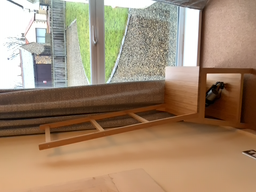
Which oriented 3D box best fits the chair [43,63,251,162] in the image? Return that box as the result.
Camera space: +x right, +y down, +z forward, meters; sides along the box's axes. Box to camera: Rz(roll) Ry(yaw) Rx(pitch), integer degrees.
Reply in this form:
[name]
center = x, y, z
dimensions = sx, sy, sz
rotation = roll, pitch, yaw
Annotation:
[chair]
center = 0.150, 0.030, 1.450
dimensions = 0.450, 1.330, 0.470
rotation = -163, 72, -66
